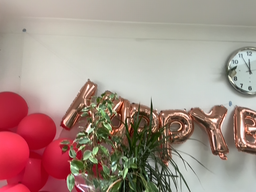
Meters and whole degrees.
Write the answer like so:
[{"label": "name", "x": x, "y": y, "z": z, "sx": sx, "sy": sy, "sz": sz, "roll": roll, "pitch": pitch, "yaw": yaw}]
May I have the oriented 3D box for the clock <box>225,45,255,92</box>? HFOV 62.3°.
[{"label": "clock", "x": 0.890, "y": -0.200, "z": 1.550, "sx": 0.350, "sy": 0.340, "sz": 0.020, "roll": 1, "pitch": -6, "yaw": -5}]
